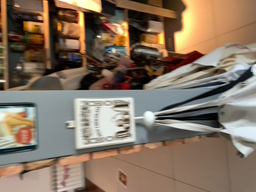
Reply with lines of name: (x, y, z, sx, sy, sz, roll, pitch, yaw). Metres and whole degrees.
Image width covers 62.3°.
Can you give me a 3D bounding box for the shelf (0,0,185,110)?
shelf: (-0.430, -0.630, 1.690, 0.320, 1.990, 1.420, -8, 84, 59)
